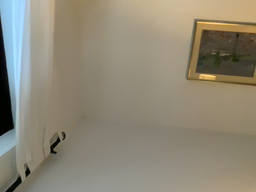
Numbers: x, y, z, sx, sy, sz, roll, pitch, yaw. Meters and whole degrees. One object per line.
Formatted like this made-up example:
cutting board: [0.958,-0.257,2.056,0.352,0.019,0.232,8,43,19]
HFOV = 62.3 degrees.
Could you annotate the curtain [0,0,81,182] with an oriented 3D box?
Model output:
curtain: [-0.450,-0.740,1.150,0.130,2.380,0.630,5,-162,6]
